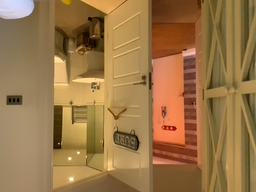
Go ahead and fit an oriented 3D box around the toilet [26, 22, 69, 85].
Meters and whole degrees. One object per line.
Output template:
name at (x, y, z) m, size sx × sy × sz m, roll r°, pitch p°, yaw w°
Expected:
toilet at (-1.270, -0.650, 3.430) m, size 0.450 × 0.870 × 0.640 m, roll 0°, pitch 178°, yaw -1°
